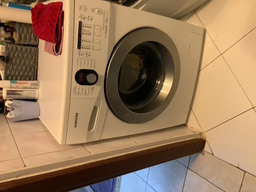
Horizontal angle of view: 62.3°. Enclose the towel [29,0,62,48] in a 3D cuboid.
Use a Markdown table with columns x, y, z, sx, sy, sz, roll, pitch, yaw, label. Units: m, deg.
| x | y | z | sx | sy | sz | roll | pitch | yaw | label |
| --- | --- | --- | --- | --- | --- | --- | --- | --- | --- |
| -0.350 | -0.300 | 0.880 | 0.240 | 0.060 | 0.180 | 21 | 109 | 51 | towel |
